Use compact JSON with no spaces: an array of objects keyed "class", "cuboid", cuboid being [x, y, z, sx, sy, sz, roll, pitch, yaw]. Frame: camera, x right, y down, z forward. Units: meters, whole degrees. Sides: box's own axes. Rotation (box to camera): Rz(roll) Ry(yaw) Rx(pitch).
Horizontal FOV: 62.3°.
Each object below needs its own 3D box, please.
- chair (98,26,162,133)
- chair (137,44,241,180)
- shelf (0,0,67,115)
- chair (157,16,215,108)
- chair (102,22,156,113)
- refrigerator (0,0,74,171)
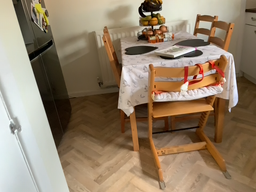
[{"class":"chair","cuboid":[0.030,-0.150,1.970,0.470,0.880,0.330,-7,25,-2]},{"class":"chair","cuboid":[0.370,0.090,1.520,0.510,0.760,0.530,-6,25,0]},{"class":"shelf","cuboid":[-1.070,-0.710,2.320,0.340,1.840,0.410,-6,25,-1]},{"class":"chair","cuboid":[0.610,-0.370,2.320,0.470,0.880,0.330,-10,25,-10]},{"class":"chair","cuboid":[0.020,-0.310,2.330,0.470,0.880,0.330,-7,25,-2]},{"class":"refrigerator","cuboid":[-0.950,-0.440,1.720,0.510,1.840,0.900,-6,25,-1]}]
